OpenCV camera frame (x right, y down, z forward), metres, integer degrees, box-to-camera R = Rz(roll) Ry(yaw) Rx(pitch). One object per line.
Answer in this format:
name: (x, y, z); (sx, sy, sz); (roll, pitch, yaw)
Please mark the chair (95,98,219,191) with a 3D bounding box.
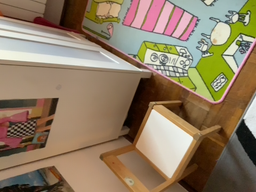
chair: (0.160, 0.230, 1.060); (0.300, 0.490, 0.320); (37, 114, 34)
